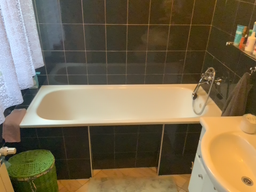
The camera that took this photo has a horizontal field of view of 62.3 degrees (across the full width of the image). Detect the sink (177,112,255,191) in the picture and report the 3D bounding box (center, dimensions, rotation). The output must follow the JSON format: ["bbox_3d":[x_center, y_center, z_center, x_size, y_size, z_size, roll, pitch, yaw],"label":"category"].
[{"bbox_3d":[0.620,0.390,1.160,0.480,0.160,0.840,0,29,-4],"label":"sink"}]

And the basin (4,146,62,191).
[{"bbox_3d":[-0.760,0.640,1.760,0.320,0.350,0.260,1,29,-2],"label":"basin"}]
